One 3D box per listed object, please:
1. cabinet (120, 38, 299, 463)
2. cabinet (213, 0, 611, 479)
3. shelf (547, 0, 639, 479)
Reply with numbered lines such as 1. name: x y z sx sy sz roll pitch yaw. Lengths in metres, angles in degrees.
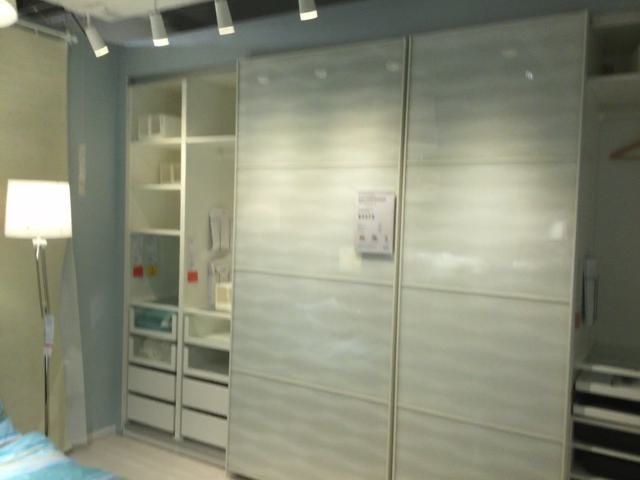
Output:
1. cabinet: -0.710 0.050 3.720 0.860 2.360 0.670 3 2 33
2. cabinet: 0.380 0.120 2.960 1.820 2.430 0.700 3 2 34
3. shelf: 1.420 0.230 2.230 0.830 2.270 0.700 3 2 34
